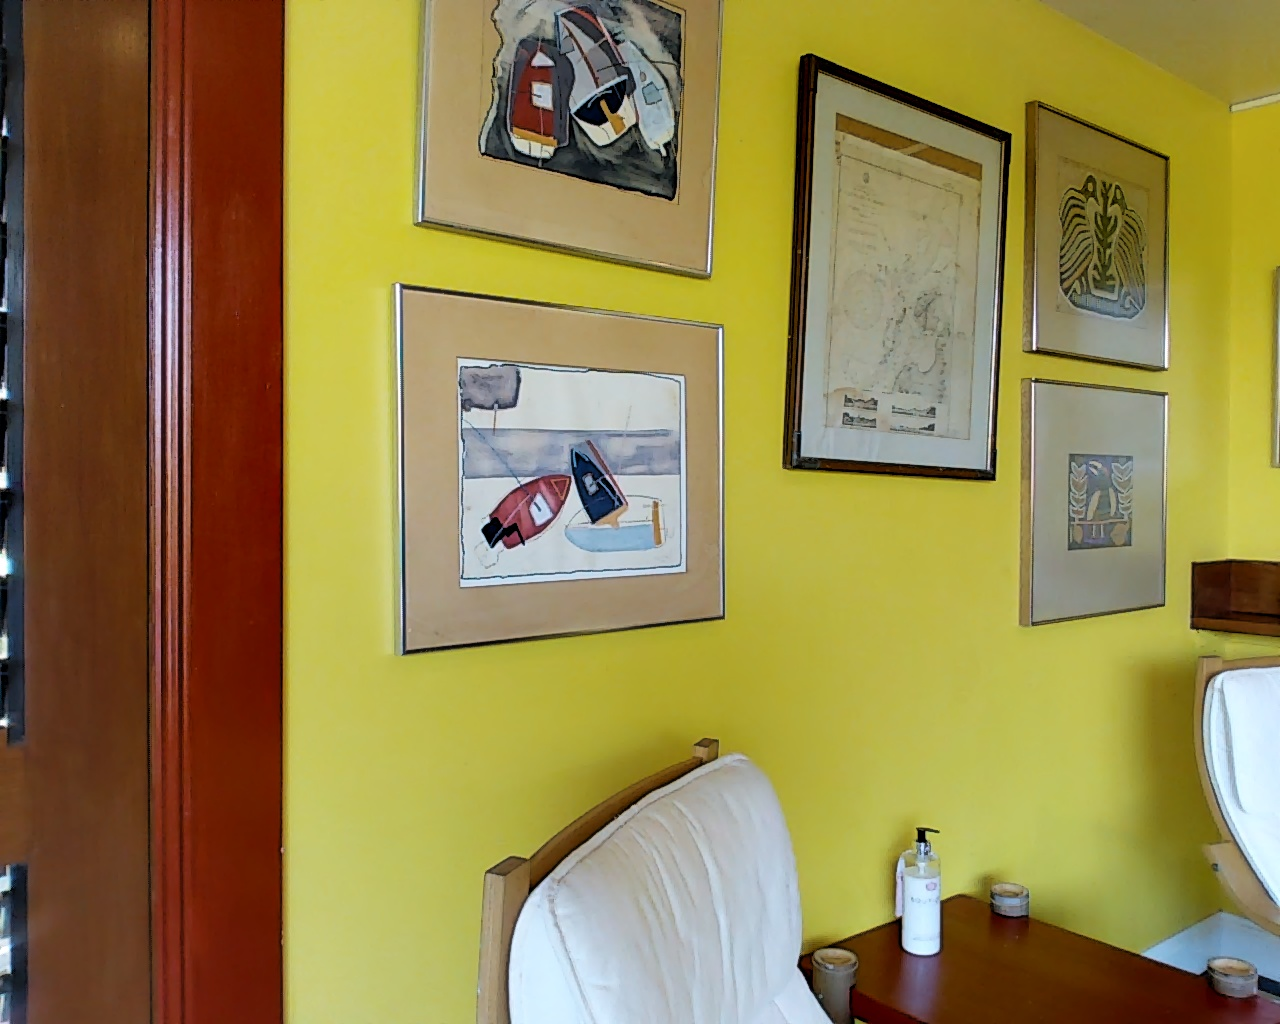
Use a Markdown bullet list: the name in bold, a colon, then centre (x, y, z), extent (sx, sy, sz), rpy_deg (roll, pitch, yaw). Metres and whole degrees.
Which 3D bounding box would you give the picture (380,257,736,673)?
- **picture**: centre (-0.090, -0.060, 1.540), extent (0.590, 0.520, 0.030), rpy_deg (0, 1, -38)

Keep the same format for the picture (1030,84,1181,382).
- **picture**: centre (1.060, -0.600, 2.420), extent (0.590, 0.570, 0.030), rpy_deg (0, 1, -38)

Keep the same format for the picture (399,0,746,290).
- **picture**: centre (-0.070, -0.620, 1.530), extent (0.570, 0.530, 0.040), rpy_deg (0, 1, -38)

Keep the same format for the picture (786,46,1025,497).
- **picture**: centre (0.510, -0.400, 1.990), extent (0.620, 0.740, 0.050), rpy_deg (0, 1, -38)

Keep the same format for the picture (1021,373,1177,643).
- **picture**: centre (1.050, -0.010, 2.430), extent (0.610, 0.560, 0.030), rpy_deg (0, 1, -38)
